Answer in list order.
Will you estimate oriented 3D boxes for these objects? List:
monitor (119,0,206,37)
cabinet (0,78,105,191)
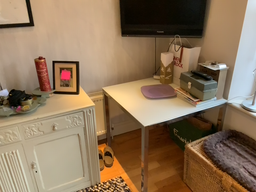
[{"bbox_3d":[0.310,-0.830,1.970,0.780,0.520,0.060,1,28,12],"label":"monitor"},{"bbox_3d":[-0.980,0.450,1.810,1.350,0.810,0.680,-13,29,-24],"label":"cabinet"}]
